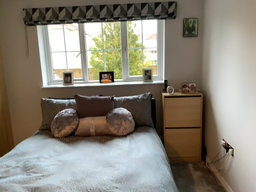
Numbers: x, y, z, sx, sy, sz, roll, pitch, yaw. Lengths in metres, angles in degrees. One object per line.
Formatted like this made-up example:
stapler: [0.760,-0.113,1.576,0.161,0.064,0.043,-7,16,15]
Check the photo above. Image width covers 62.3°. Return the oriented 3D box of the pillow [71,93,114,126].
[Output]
pillow: [-0.400,0.150,2.470,0.470,0.330,0.180,-2,9,-3]

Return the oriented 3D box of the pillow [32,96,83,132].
pillow: [-0.840,0.210,2.580,0.530,0.400,0.250,-1,2,1]

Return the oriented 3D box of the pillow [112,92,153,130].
pillow: [0.050,0.180,2.610,0.470,0.420,0.260,-1,6,-3]
